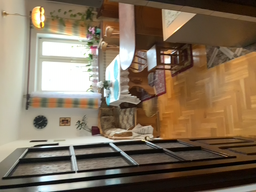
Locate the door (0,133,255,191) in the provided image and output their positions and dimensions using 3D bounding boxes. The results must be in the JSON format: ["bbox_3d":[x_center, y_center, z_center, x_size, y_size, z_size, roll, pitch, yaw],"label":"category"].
[{"bbox_3d":[0.260,0.380,1.380,0.720,1.850,0.120,171,100,-72],"label":"door"}]
